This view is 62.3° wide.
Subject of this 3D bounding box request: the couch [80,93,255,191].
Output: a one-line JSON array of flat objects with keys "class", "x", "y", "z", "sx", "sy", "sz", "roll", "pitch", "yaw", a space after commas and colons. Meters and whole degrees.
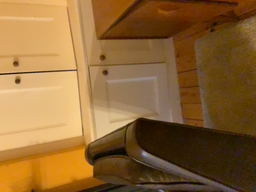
[{"class": "couch", "x": 0.390, "y": 0.550, "z": 0.990, "sx": 0.730, "sy": 0.930, "sz": 0.940, "roll": -37, "pitch": 63, "yaw": 61}]
